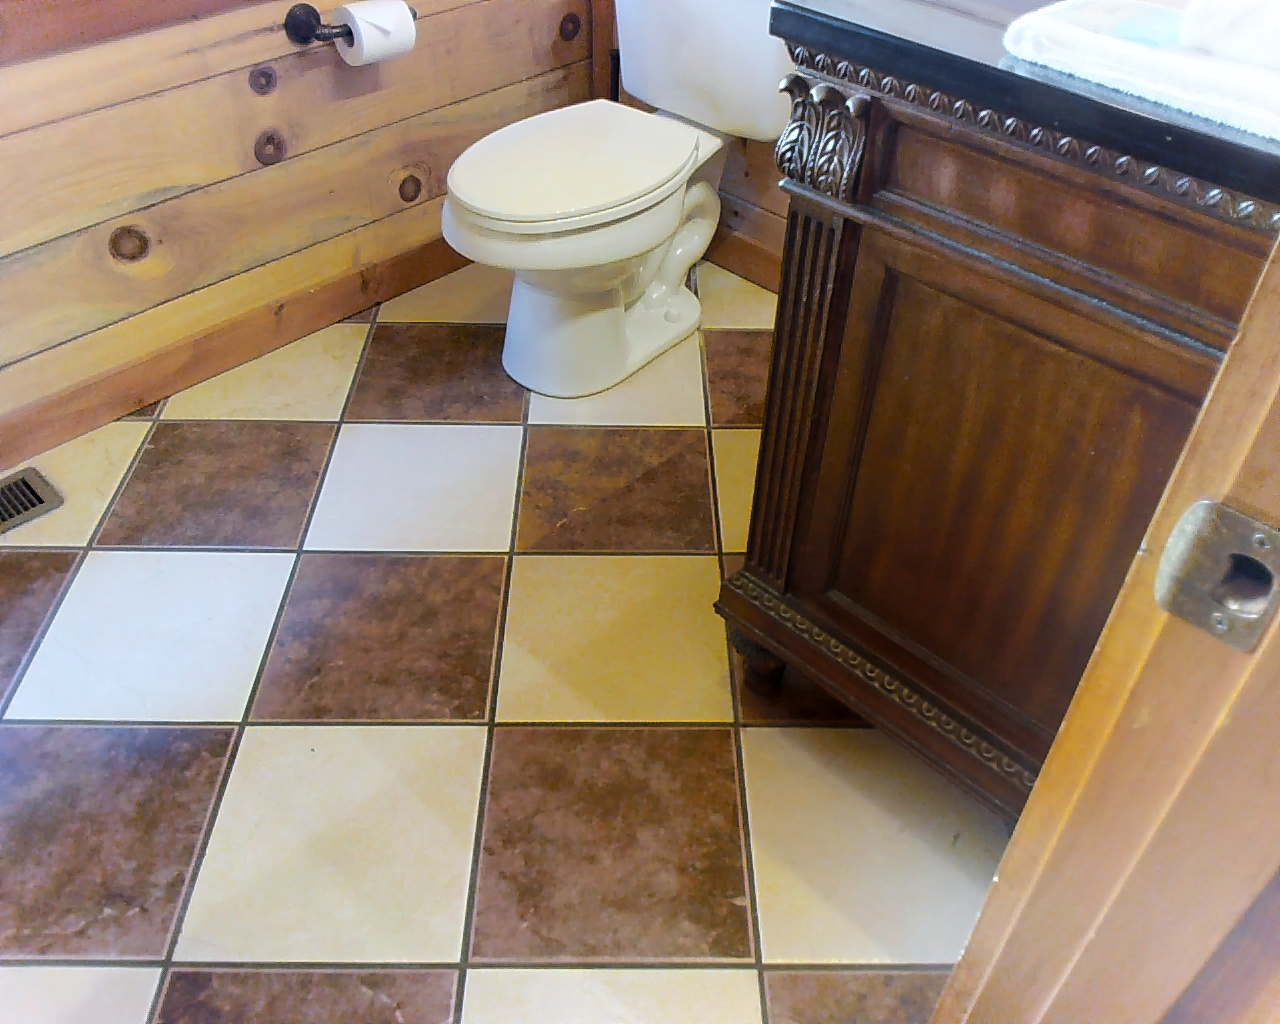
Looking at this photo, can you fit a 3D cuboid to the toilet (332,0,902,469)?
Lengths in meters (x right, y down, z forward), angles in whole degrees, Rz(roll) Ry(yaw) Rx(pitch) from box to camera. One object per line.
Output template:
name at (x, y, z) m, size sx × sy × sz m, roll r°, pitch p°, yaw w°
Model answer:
toilet at (-0.020, -0.650, 1.970) m, size 0.790 × 0.700 × 0.550 m, roll -33°, pitch 52°, yaw -32°
